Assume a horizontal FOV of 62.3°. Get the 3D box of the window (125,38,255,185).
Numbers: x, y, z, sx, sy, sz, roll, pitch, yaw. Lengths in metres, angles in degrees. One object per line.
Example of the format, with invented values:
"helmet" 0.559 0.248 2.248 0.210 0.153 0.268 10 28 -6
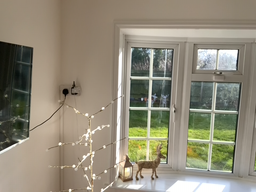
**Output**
"window" 0.830 0.150 2.080 1.660 1.350 0.130 3 7 8
